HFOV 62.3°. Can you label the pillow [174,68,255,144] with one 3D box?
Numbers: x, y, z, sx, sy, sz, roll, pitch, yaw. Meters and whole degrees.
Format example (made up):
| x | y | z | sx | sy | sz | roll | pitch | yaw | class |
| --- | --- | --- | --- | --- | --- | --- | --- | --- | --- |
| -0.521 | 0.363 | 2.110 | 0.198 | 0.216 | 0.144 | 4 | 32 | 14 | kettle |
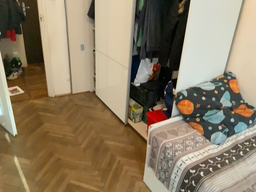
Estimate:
| x | y | z | sx | sy | sz | roll | pitch | yaw | class |
| --- | --- | --- | --- | --- | --- | --- | --- | --- | --- |
| 0.750 | 0.050 | 1.760 | 0.540 | 0.390 | 0.390 | -12 | 31 | -30 | pillow |
